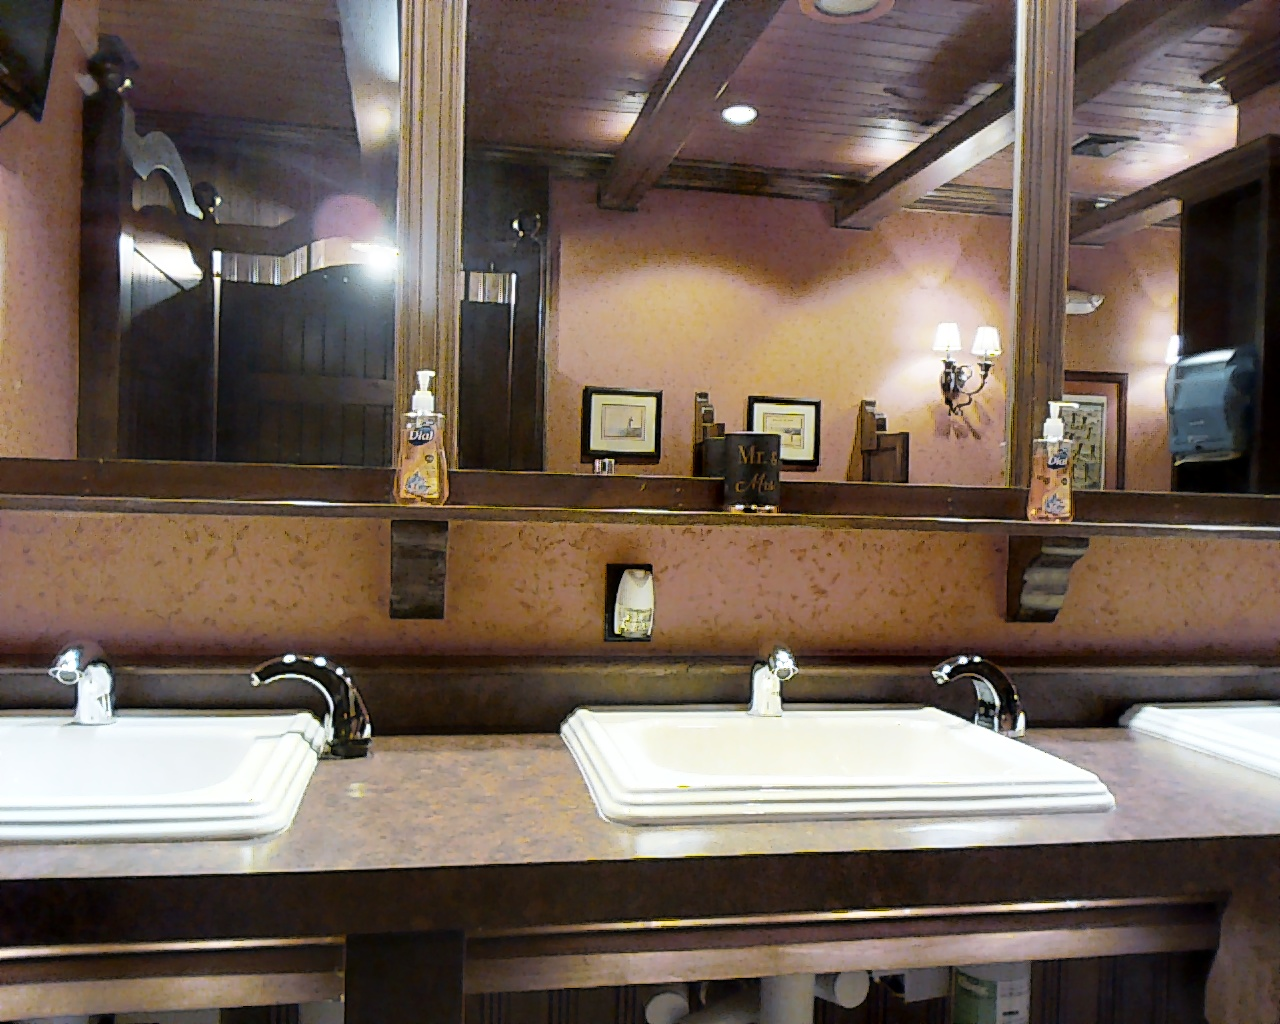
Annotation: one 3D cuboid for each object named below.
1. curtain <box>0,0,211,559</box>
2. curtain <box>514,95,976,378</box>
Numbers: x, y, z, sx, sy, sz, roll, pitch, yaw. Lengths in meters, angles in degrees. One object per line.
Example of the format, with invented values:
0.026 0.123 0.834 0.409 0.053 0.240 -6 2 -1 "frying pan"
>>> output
-1.340 -0.760 2.500 0.250 1.650 2.130 1 1 -12 "curtain"
0.460 -1.360 5.760 2.120 1.040 1.430 1 1 -12 "curtain"
